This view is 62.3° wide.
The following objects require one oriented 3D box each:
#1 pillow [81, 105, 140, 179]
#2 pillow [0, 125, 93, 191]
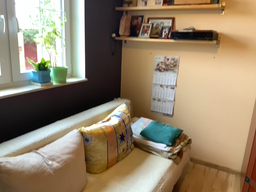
[{"bbox_3d":[-0.130,0.370,1.940,0.180,0.380,0.720,10,17,24],"label":"pillow"},{"bbox_3d":[-0.520,0.490,1.390,0.290,0.380,0.570,10,17,24],"label":"pillow"}]
